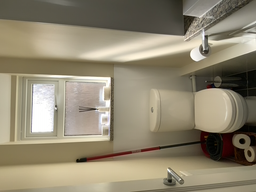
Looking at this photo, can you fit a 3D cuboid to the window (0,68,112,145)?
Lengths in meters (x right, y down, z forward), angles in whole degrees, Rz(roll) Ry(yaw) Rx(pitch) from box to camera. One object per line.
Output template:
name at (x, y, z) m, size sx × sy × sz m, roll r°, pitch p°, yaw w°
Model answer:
window at (-0.640, 0.100, 1.960) m, size 0.130 × 0.960 × 0.650 m, roll 157°, pitch 114°, yaw -75°
